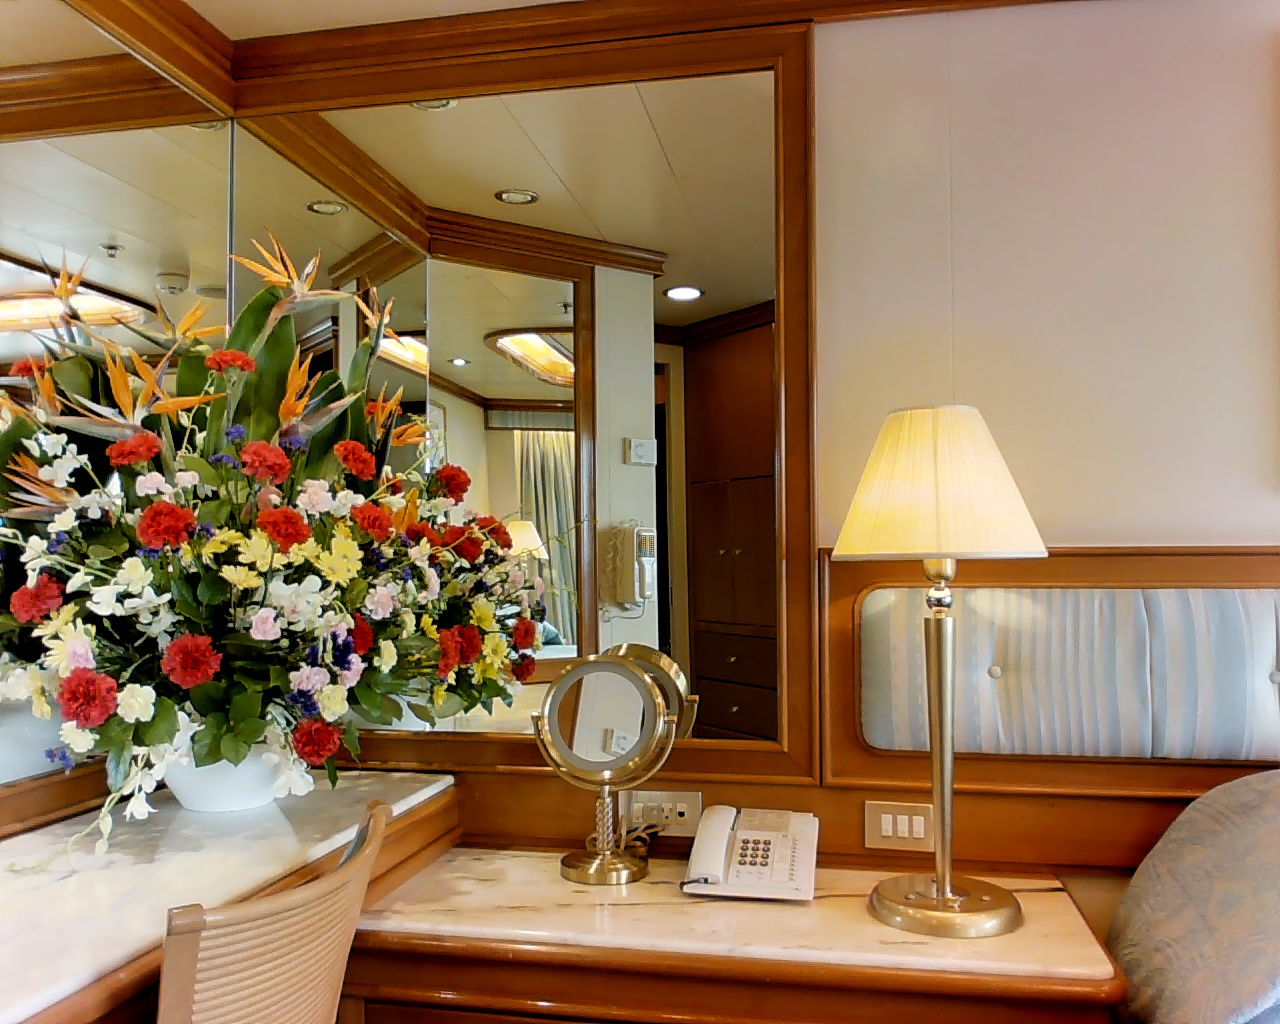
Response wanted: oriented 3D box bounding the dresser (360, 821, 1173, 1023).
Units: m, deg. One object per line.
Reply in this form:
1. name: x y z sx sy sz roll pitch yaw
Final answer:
1. dresser: 0.170 0.880 1.610 1.060 0.670 0.430 -1 -2 12

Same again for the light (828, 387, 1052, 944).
1. light: 0.440 0.210 1.600 0.290 0.750 0.220 -1 -2 15
